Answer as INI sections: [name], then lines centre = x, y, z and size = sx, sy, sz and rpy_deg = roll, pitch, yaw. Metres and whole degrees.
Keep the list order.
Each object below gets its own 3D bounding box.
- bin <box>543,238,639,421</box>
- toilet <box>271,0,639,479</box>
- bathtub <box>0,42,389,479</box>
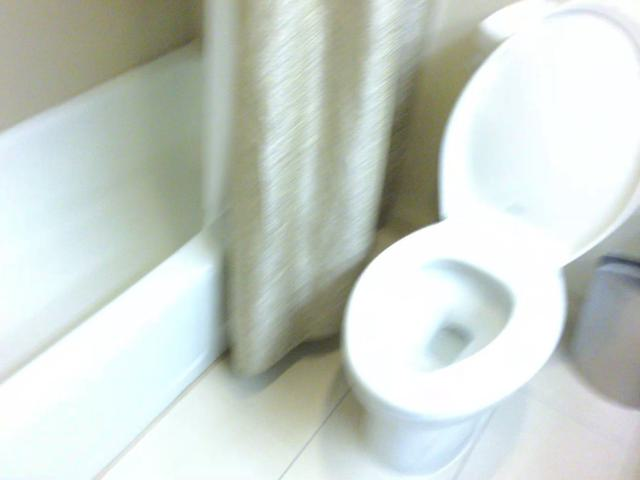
[bin]
centre = 0.750, 0.230, 1.320
size = 0.330, 0.320, 0.170
rpy_deg = 29, 49, 24
[toilet]
centre = 0.330, 0.040, 1.110
size = 0.450, 0.850, 0.760
rpy_deg = 29, 49, 24
[bathtub]
centre = -0.550, 0.050, 1.380
size = 0.730, 0.380, 1.430
rpy_deg = 29, 49, 24
